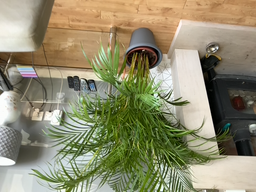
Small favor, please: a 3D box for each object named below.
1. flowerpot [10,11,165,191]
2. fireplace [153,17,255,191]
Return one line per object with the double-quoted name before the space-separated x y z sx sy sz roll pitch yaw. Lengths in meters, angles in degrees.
"flowerpot" -0.180 0.090 1.580 0.710 1.250 0.710 -1 150 1
"fireplace" 1.000 0.160 1.730 1.370 1.150 0.830 4 150 -6
